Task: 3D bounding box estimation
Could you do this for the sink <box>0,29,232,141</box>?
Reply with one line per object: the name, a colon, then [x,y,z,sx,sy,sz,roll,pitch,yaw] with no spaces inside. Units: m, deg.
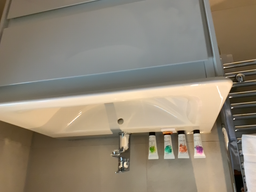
sink: [-0.060,0.030,0.690,0.630,0.130,0.450,-5,158,13]
